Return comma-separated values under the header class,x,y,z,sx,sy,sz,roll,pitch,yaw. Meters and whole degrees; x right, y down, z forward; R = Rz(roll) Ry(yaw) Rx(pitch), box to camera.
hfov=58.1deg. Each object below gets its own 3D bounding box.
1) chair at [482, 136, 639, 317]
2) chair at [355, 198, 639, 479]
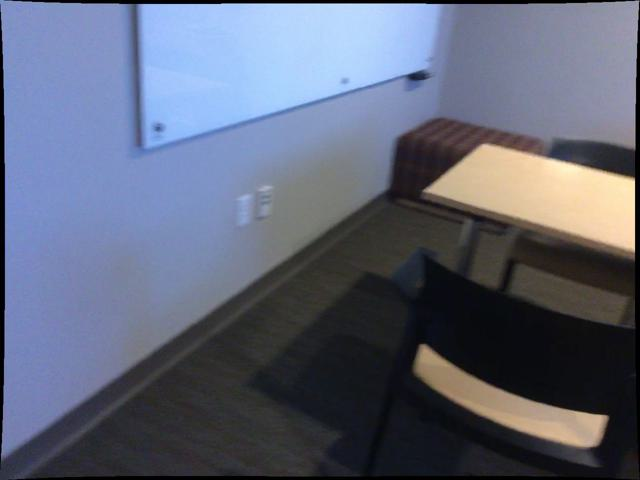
class,x,y,z,sx,sy,sz,roll,pitch,yaw
chair,1.018,-0.080,2.180,0.599,0.401,0.520,19,28,22
chair,0.449,0.220,1.390,0.519,0.391,0.490,19,28,22
